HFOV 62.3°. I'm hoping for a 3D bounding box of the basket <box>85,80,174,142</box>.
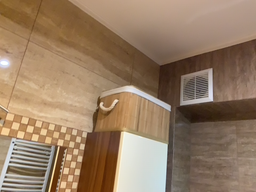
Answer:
[{"bbox_3d":[0.020,0.100,1.060,0.260,0.200,0.340,-11,-26,43],"label":"basket"}]
